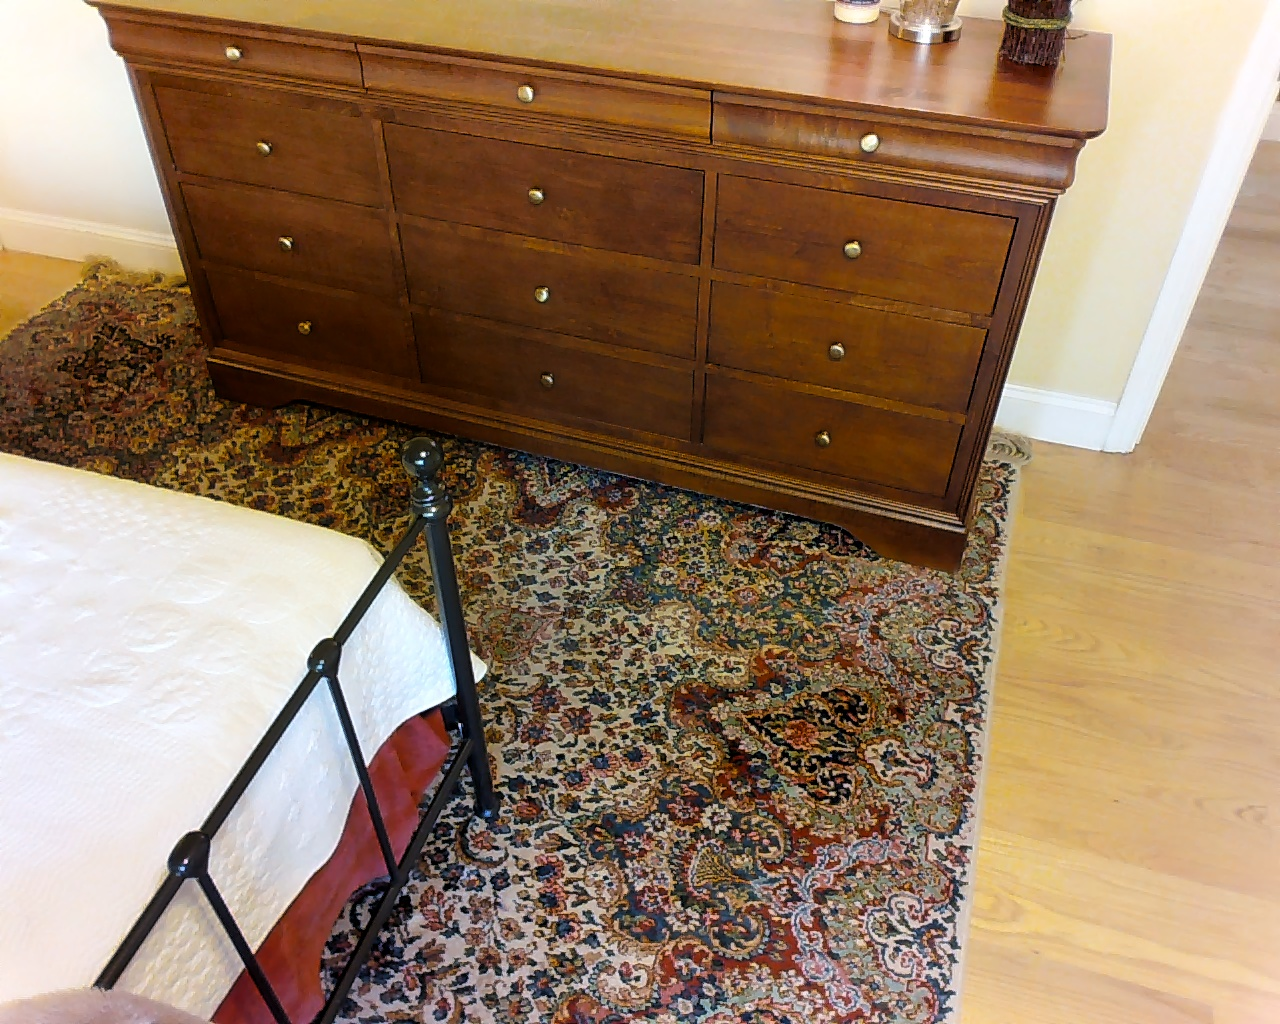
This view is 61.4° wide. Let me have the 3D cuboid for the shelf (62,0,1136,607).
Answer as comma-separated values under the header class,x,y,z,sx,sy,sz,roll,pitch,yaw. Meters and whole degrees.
class,x,y,z,sx,sy,sz,roll,pitch,yaw
shelf,-0.100,-0.600,2.340,1.920,1.010,0.620,14,44,15
